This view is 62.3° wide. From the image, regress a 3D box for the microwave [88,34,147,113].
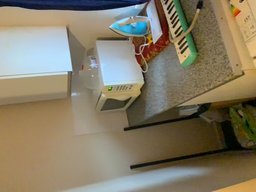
[{"bbox_3d":[-0.110,-0.140,1.560,0.480,0.260,0.410,134,128,-66],"label":"microwave"}]
